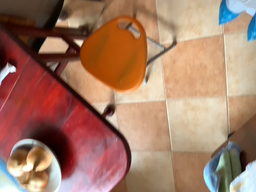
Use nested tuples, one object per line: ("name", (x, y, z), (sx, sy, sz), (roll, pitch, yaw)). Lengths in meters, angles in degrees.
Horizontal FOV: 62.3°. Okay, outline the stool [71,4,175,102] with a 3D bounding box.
("stool", (0.010, -0.210, 1.050), (0.290, 0.450, 0.270), (35, 110, 8))
